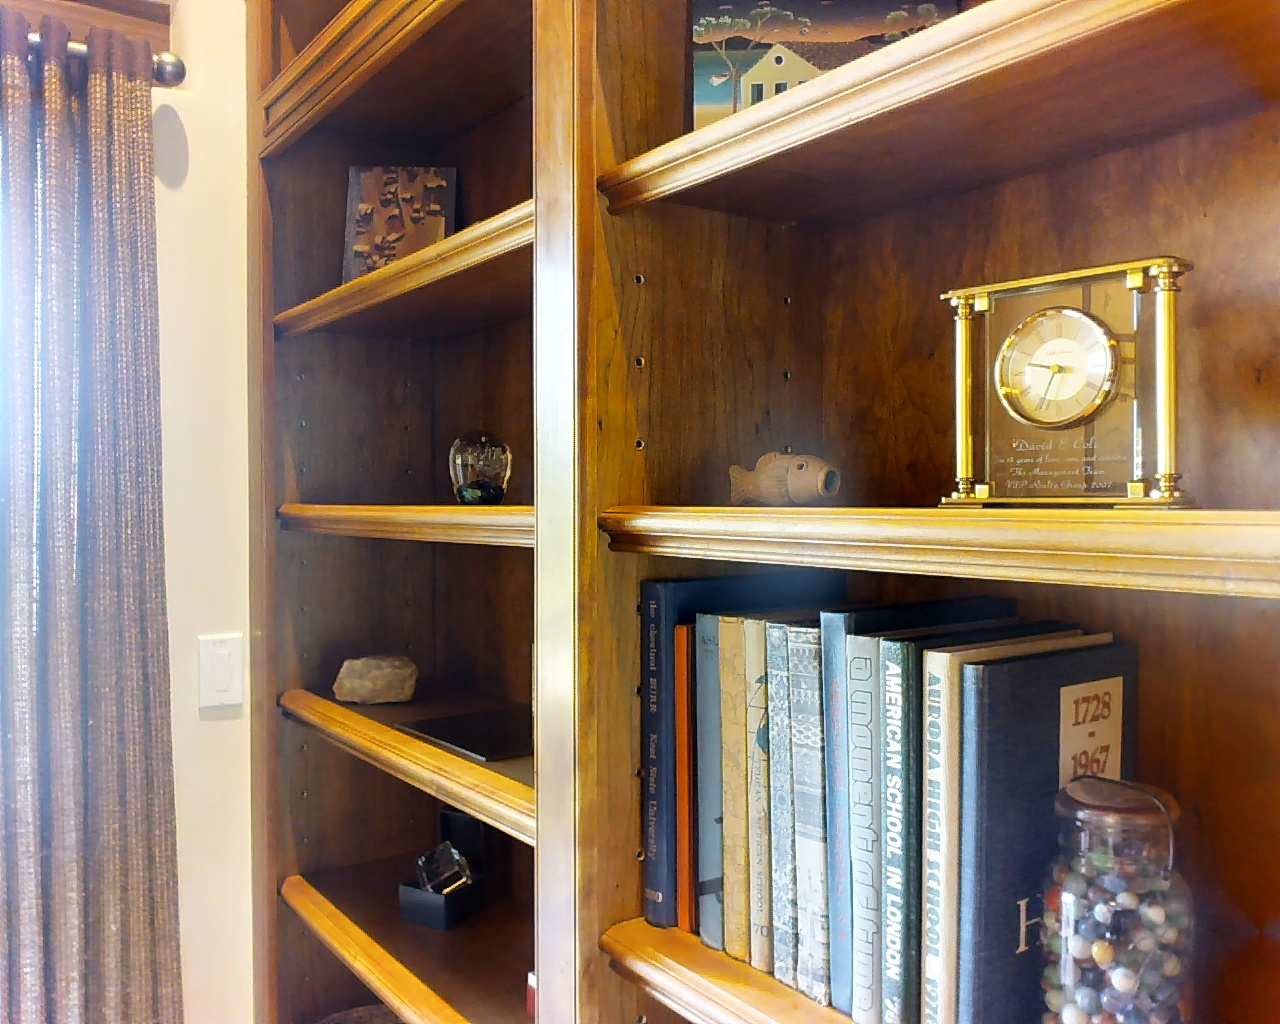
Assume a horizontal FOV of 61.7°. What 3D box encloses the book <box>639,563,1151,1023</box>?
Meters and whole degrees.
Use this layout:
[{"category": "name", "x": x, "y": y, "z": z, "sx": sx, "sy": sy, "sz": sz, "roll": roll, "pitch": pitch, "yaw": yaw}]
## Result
[{"category": "book", "x": 0.200, "y": 0.220, "z": 0.910, "sx": 0.240, "sy": 0.330, "sz": 0.350, "roll": -1, "pitch": 1, "yaw": -36}]
